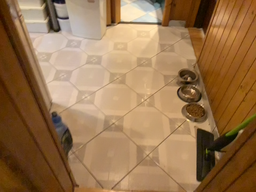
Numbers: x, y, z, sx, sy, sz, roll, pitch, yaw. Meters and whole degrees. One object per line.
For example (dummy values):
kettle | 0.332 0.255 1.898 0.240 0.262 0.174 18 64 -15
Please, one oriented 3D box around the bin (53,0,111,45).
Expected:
bin | -0.430 -0.880 2.070 0.490 0.690 0.250 5 49 1
